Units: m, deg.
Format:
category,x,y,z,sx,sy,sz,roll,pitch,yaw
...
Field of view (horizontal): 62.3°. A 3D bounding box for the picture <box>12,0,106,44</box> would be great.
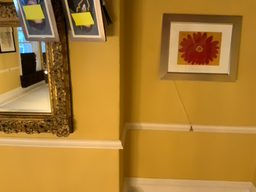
category,x,y,z,sx,sy,sz,roll,pitch,yaw
picture,-0.390,-0.450,1.270,0.490,0.260,0.170,1,-164,0
